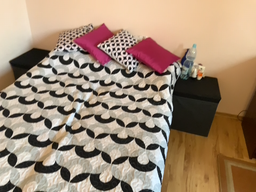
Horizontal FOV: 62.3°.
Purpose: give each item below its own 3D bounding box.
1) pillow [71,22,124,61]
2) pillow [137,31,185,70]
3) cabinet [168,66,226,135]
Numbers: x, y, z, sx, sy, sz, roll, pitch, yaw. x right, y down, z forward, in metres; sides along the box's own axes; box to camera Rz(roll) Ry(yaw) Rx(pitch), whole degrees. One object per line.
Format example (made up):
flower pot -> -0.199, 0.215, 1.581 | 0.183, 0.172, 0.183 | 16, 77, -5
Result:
pillow -> -0.270, -0.520, 1.970 | 0.370, 0.200, 0.370 | 11, 33, 9
pillow -> 0.290, -0.410, 1.840 | 0.350, 0.150, 0.430 | 9, 33, 7
cabinet -> 0.630, 0.030, 2.020 | 0.390, 0.440, 0.400 | 11, 33, 10
